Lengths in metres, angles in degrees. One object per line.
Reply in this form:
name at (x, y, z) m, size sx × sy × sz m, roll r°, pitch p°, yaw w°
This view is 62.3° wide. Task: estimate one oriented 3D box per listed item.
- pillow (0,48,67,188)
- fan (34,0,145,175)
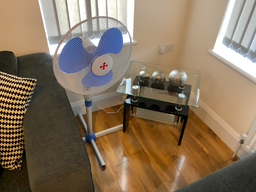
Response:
pillow at (-0.670, 0.110, 1.020) m, size 0.490 × 0.520 × 0.230 m, roll 41°, pitch 15°, yaw 4°
fan at (-0.210, -0.010, 1.350) m, size 0.420 × 1.010 × 0.350 m, roll -22°, pitch 46°, yaw -27°
